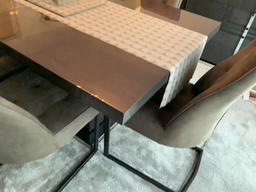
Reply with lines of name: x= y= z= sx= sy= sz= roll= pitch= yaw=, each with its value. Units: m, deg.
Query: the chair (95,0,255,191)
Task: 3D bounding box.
chair: x=0.230 y=0.020 z=1.080 sx=0.590 sy=0.950 sz=0.500 roll=31 pitch=46 yaw=24

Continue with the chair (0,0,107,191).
chair: x=-0.490 y=0.050 z=0.910 sx=0.500 sy=0.950 sz=0.570 roll=30 pitch=45 yaw=22
